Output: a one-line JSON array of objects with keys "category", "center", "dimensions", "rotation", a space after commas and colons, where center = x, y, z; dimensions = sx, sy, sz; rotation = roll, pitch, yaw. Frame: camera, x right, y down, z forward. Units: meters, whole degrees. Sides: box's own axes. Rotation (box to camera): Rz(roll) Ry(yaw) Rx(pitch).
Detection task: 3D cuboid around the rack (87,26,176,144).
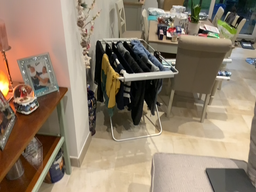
[{"category": "rack", "center": [-0.070, -0.210, 2.270], "dimensions": [0.610, 0.750, 1.140], "rotation": [-5, 33, -13]}]
